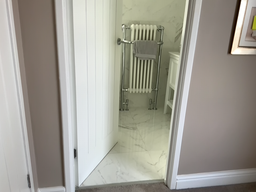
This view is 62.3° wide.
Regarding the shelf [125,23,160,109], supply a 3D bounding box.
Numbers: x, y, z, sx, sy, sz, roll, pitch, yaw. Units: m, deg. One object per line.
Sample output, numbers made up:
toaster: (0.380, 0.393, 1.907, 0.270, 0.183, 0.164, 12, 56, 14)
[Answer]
shelf: (0.170, -0.380, 2.810, 0.370, 1.090, 0.240, 3, 19, 0)
